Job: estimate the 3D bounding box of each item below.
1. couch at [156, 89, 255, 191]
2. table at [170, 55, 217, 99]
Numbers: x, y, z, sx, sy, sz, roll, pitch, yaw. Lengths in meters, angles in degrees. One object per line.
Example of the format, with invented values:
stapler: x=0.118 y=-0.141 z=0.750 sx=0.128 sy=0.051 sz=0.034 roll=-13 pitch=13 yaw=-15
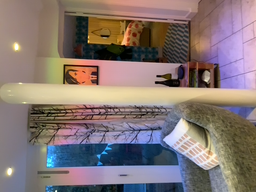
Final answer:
couch: x=0.770 y=0.480 z=1.780 sx=0.860 sy=0.820 sz=0.740 roll=108 pitch=163 yaw=-64
table: x=0.840 y=-0.220 z=2.770 sx=0.480 sy=0.410 sz=0.500 roll=164 pitch=109 yaw=-82
